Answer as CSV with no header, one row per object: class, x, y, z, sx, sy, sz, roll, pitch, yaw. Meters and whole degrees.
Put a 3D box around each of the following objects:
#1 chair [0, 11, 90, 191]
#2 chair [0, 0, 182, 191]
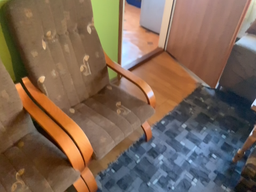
chair,-0.680,0.210,1.020,0.730,0.980,0.610,34,49,28
chair,-0.250,-0.070,1.400,0.730,1.020,0.660,34,49,28
